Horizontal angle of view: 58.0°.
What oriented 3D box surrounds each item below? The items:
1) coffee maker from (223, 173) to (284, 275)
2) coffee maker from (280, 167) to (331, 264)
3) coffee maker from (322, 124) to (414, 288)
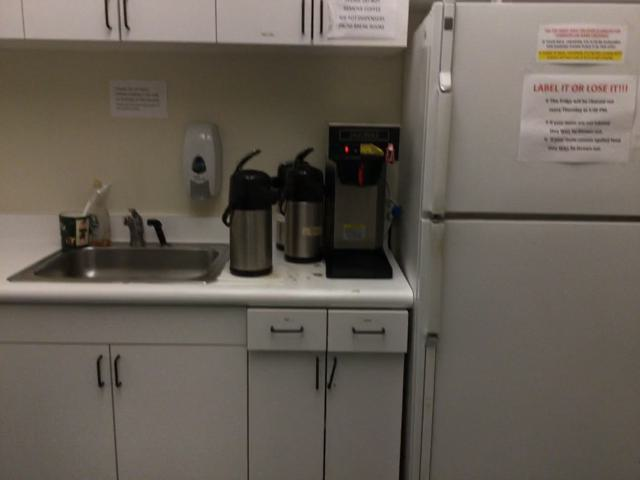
[{"bbox_3d":[-0.200,-0.050,1.770,0.170,0.300,0.100,0,12,-2],"label":"coffee maker"},{"bbox_3d":[-0.050,-0.090,1.960,0.160,0.300,0.200,0,12,-2],"label":"coffee maker"},{"bbox_3d":[0.140,-0.130,1.890,0.250,0.490,0.360,0,12,-2],"label":"coffee maker"}]
